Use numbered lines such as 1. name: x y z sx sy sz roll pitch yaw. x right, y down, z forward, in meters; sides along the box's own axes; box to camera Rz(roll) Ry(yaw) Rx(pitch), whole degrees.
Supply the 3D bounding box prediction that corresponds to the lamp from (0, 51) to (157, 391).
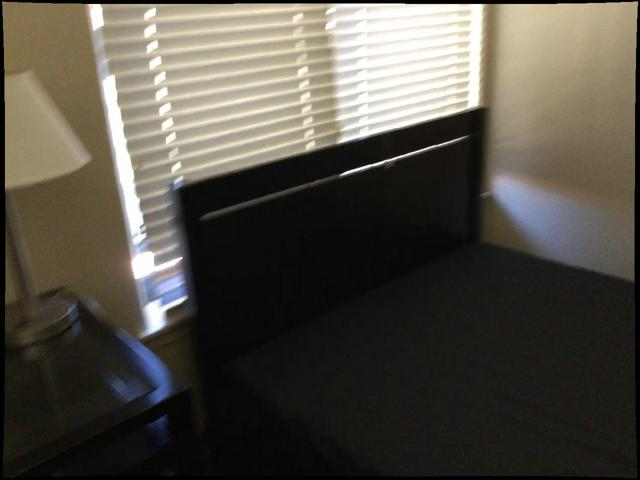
1. lamp: -0.699 -0.060 1.300 0.410 0.620 0.330 -26 32 -33
